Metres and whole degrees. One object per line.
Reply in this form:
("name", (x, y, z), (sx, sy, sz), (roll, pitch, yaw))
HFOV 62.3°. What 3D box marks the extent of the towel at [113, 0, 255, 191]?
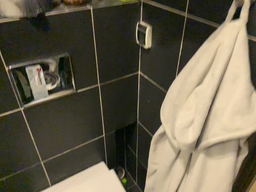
("towel", (0.160, 0.150, 0.730), (0.220, 0.950, 0.410), (-22, 42, -27))
